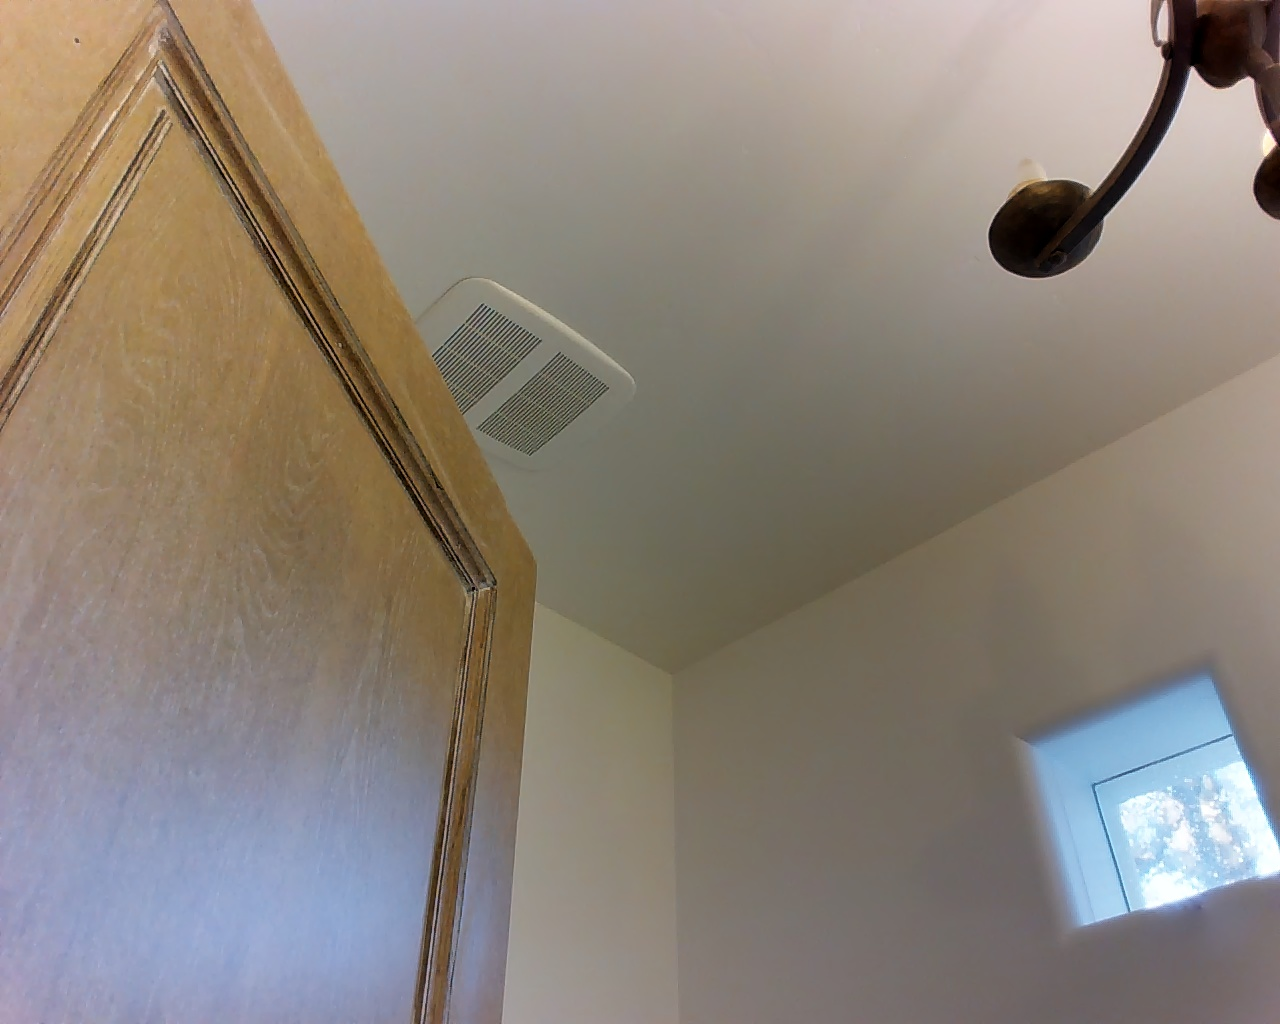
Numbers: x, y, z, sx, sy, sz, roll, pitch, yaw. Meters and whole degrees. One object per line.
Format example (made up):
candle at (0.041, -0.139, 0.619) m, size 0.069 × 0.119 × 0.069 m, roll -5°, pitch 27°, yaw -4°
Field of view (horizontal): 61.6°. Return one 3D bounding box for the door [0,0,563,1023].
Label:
door at (-0.240, 0.700, 0.250) m, size 0.030 × 2.491 × 0.940 m, roll -9°, pitch -43°, yaw 11°
